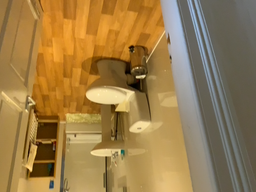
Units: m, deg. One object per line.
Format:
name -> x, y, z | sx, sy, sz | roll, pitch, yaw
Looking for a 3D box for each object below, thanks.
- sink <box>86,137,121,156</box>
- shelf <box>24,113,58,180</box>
sink -> -0.380, 0.760, 3.180 | 0.440, 0.170, 0.540 | 3, 155, -16
shelf -> -1.470, 0.850, 3.650 | 0.420, 1.060, 0.300 | 2, 155, -15
